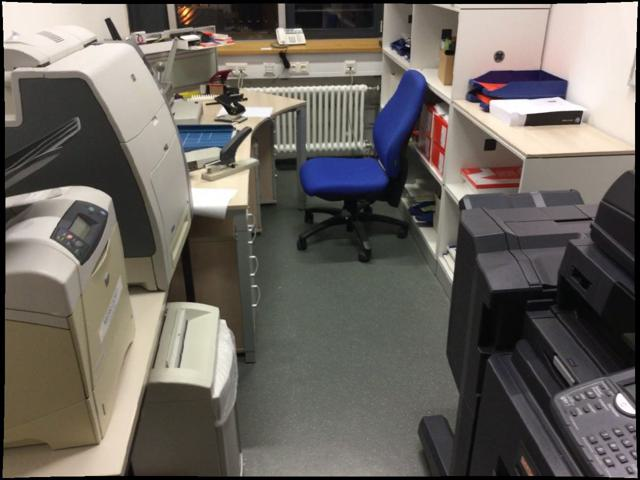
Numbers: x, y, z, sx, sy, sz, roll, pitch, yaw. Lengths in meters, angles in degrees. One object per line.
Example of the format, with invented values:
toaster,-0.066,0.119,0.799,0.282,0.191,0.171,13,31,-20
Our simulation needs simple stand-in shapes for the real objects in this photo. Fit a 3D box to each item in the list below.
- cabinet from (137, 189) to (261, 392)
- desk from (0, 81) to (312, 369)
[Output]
cabinet,-0.460,0.180,2.350,0.390,0.580,0.570,-3,28,-7
desk,-0.659,-0.290,3.050,1.089,0.600,2.170,1,28,3
